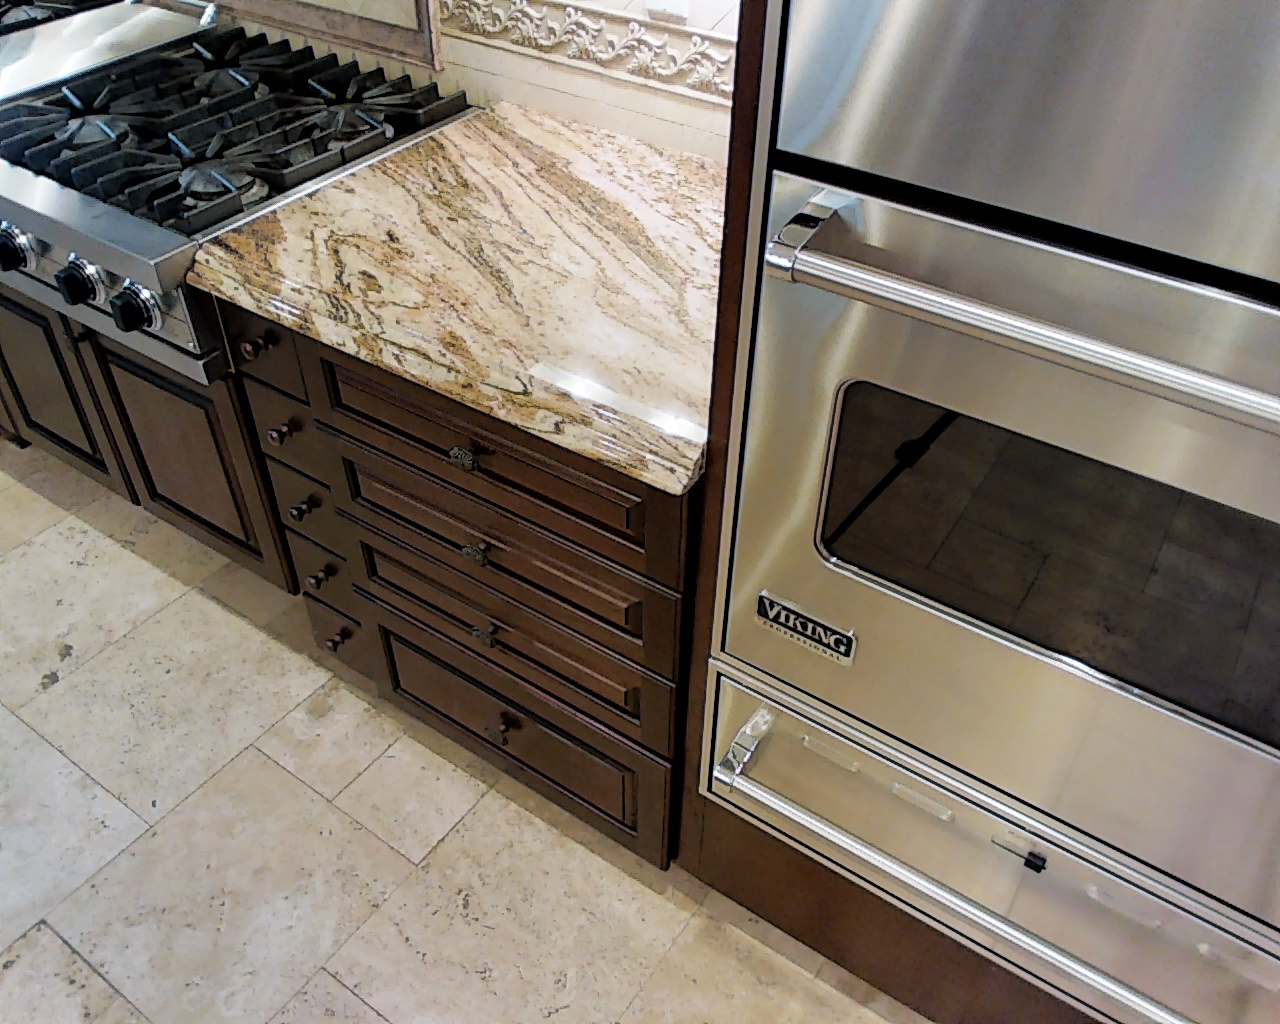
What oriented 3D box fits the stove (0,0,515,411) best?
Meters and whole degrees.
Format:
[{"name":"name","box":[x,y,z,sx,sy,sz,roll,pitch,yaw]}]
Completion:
[{"name":"stove","box":[-0.950,-0.660,1.850,1.280,0.220,0.720,25,47,24]}]
